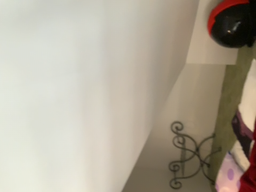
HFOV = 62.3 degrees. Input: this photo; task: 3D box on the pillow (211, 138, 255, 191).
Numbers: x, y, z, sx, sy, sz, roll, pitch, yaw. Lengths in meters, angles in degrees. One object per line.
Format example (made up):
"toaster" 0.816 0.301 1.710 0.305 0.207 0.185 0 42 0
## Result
"pillow" 0.780 0.590 1.610 0.320 0.160 0.420 -72 -16 -64
